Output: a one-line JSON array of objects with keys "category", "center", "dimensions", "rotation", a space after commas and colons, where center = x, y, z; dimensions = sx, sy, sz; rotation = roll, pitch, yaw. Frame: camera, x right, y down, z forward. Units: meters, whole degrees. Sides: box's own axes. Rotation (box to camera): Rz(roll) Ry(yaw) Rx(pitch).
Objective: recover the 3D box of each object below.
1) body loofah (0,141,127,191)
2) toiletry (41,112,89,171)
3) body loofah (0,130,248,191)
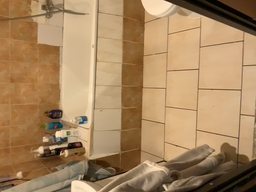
[{"category": "body loofah", "center": [-0.540, 0.560, 1.530], "dimensions": [0.230, 1.170, 0.230], "rotation": [9, 98, 51]}, {"category": "toiletry", "center": [-0.620, 0.390, 2.000], "dimensions": [0.720, 0.160, 0.330], "rotation": [12, 100, 50]}, {"category": "body loofah", "center": [0.150, 0.380, 1.040], "dimensions": [0.240, 1.400, 0.190], "rotation": [15, 103, 50]}]
